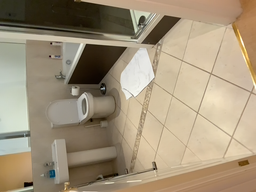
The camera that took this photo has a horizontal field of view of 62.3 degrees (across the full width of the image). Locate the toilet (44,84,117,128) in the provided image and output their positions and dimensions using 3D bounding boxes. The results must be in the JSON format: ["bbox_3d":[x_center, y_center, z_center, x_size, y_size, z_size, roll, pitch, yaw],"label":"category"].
[{"bbox_3d":[-0.710,0.150,3.070,0.640,0.870,0.410,-40,57,57],"label":"toilet"}]

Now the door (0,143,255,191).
[{"bbox_3d":[-0.240,0.460,1.110,0.950,2.040,0.070,-36,60,58],"label":"door"}]
